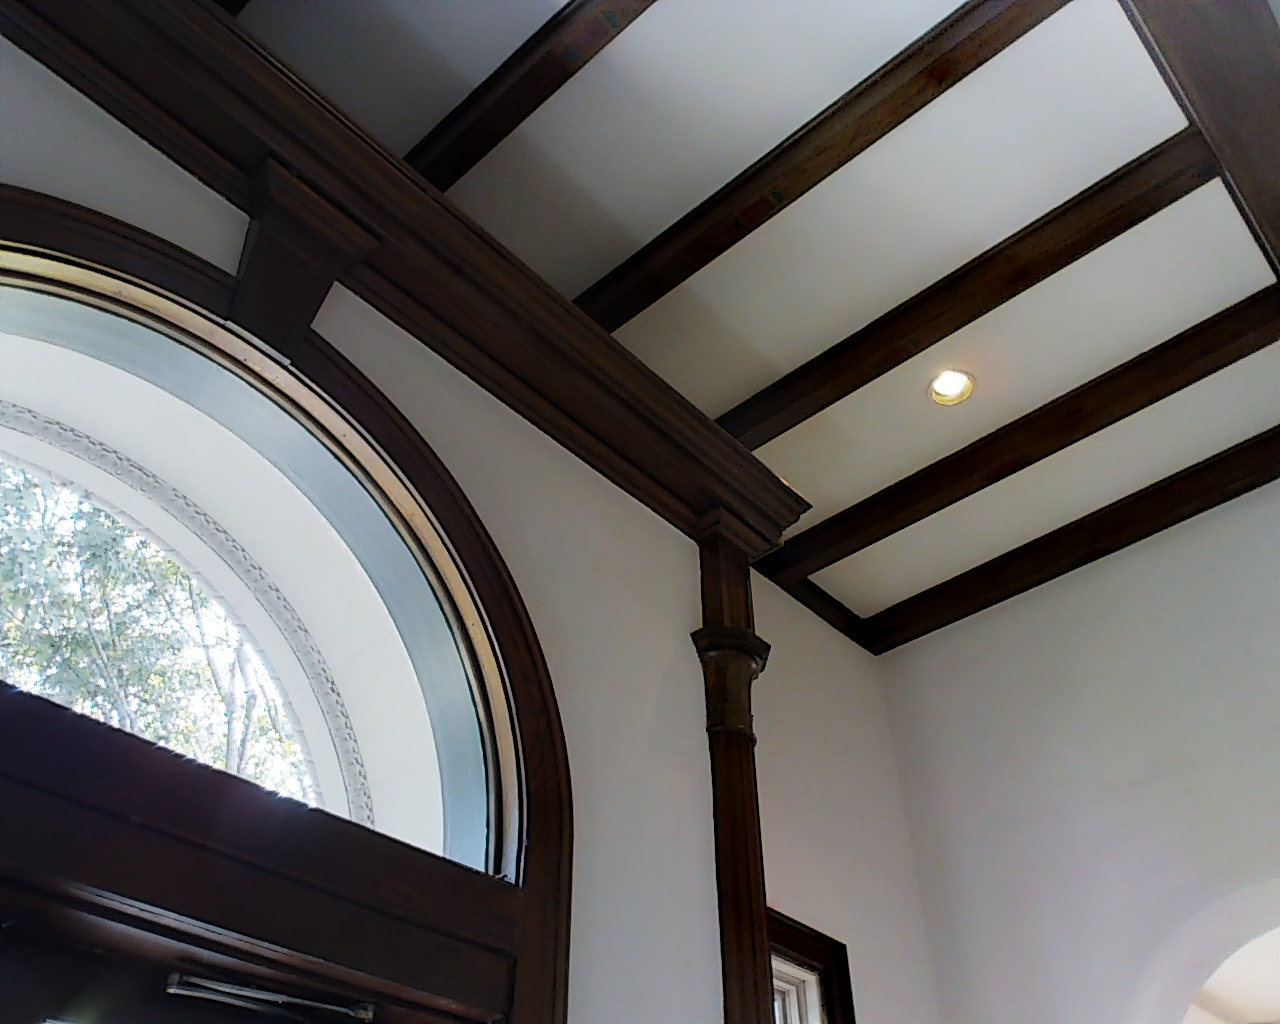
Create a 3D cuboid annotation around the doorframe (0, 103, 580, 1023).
[{"bbox_3d":[-0.840,0.830,1.290,0.190,3.300,1.770,-31,-50,31],"label":"doorframe"}]
